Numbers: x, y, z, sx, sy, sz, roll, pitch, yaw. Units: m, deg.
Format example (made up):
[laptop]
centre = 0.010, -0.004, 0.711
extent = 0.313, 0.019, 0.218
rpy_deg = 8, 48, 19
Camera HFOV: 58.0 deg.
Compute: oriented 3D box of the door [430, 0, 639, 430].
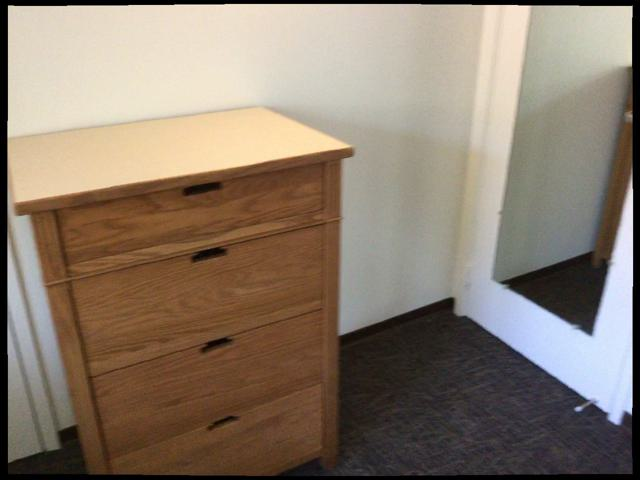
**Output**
[door]
centre = 0.848, -0.411, 2.020
extent = 0.200, 1.973, 0.930
rpy_deg = -14, 30, -26
